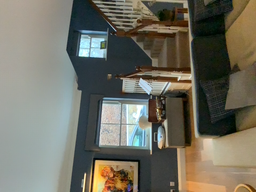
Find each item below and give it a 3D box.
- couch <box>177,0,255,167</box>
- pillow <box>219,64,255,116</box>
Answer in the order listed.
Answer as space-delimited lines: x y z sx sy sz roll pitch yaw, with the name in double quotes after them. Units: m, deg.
1.130 -0.920 2.510 1.110 0.760 3.320 102 171 -72 "couch"
1.030 -0.040 1.990 0.380 0.140 0.380 102 171 -72 "pillow"
